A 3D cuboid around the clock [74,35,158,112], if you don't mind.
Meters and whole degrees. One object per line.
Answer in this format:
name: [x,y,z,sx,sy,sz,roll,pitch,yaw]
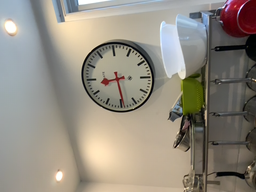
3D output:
clock: [-0.060,-0.120,1.300,0.070,0.450,0.440,-64,-31,-64]
